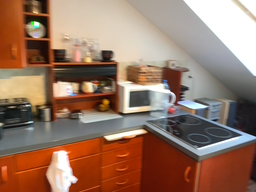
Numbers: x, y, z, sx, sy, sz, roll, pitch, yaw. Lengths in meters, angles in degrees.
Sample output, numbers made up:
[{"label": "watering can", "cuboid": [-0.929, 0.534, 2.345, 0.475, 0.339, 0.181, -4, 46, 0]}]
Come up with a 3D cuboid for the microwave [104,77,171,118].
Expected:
[{"label": "microwave", "cuboid": [0.090, -0.010, 2.240, 0.540, 0.290, 0.440, -5, 15, -29]}]

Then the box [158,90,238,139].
[{"label": "box", "cuboid": [0.870, 0.190, 2.680, 0.790, 0.370, 0.540, -6, 15, -30]}]
